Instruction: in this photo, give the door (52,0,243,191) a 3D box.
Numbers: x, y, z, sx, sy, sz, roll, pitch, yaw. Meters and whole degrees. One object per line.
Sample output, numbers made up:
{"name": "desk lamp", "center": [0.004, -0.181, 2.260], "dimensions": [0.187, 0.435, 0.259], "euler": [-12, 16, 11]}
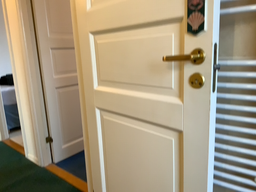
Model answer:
{"name": "door", "center": [-0.040, -0.160, 0.940], "dimensions": [0.070, 2.150, 0.970], "euler": [-15, 18, -43]}
